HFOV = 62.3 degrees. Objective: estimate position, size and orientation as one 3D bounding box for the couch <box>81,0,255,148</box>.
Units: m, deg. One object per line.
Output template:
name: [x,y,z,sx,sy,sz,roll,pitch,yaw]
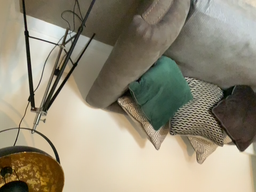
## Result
couch: [0.620,-0.180,1.750,1.670,0.730,1.120,17,154,-17]
